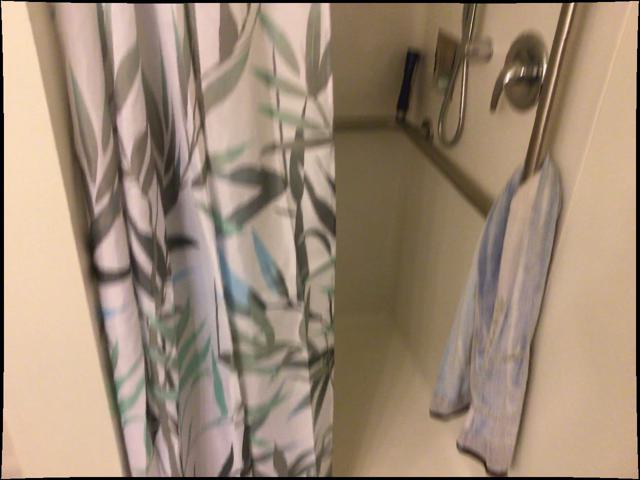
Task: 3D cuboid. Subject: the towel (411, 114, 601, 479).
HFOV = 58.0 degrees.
[{"bbox_3d":[0.399,0.170,1.420,0.190,0.852,0.380,-8,30,-10],"label":"towel"}]
